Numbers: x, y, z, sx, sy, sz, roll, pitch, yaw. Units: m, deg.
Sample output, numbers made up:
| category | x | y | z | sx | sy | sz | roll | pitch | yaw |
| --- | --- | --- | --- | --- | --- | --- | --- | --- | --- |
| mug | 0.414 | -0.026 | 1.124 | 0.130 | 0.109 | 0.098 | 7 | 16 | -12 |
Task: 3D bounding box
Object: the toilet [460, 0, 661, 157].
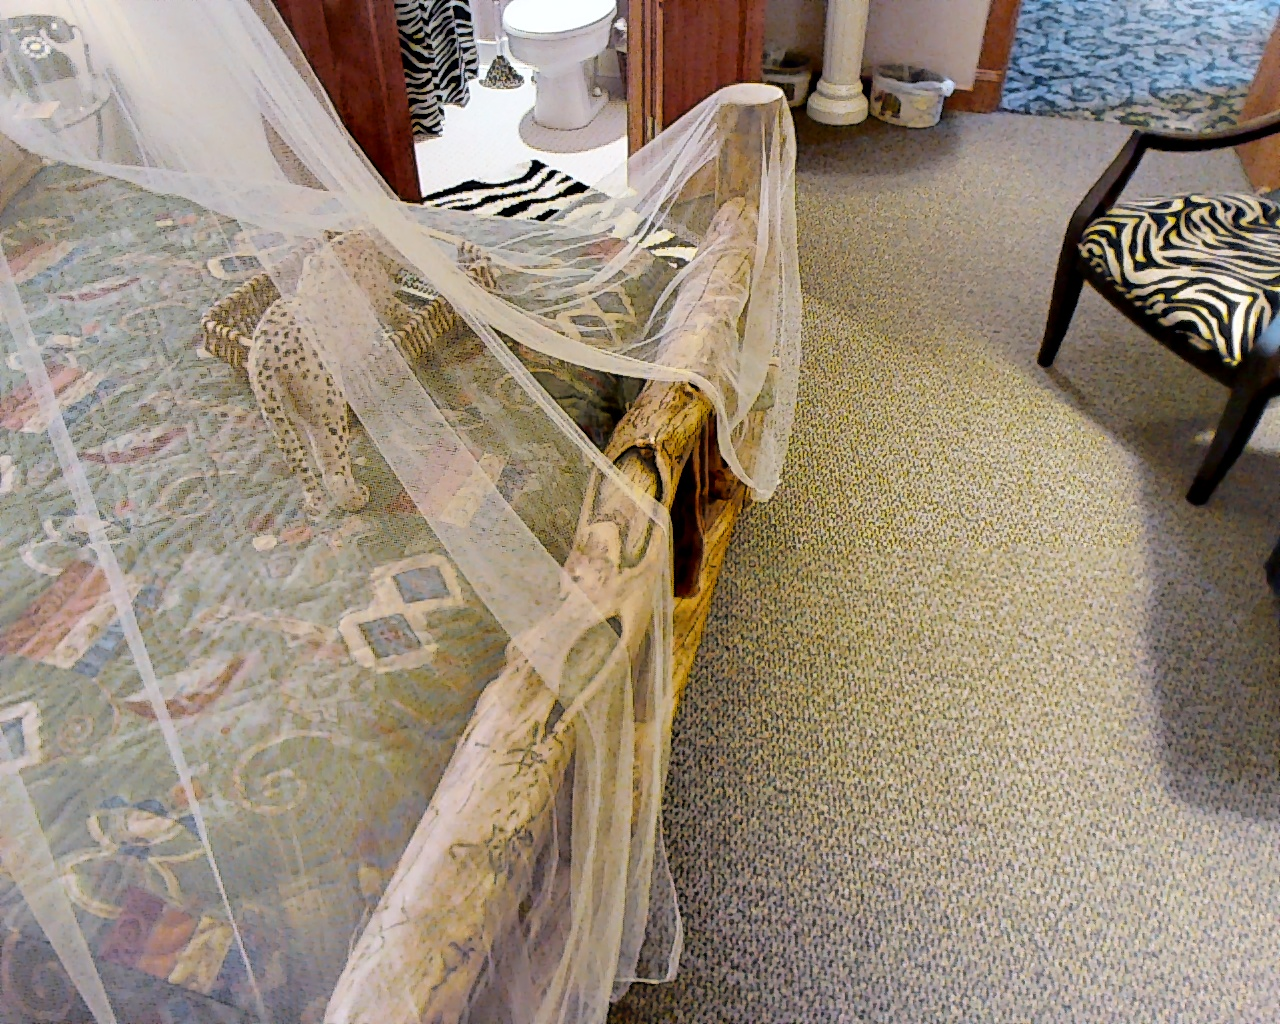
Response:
| category | x | y | z | sx | sy | sz | roll | pitch | yaw |
| --- | --- | --- | --- | --- | --- | --- | --- | --- | --- |
| toilet | -0.270 | -1.700 | 3.830 | 0.400 | 0.600 | 0.580 | 32 | 51 | 31 |
